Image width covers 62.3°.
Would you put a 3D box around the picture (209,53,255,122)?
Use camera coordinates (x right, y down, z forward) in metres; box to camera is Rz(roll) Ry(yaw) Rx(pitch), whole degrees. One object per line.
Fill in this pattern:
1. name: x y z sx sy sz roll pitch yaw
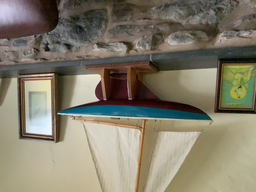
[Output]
1. picture: 0.410 -0.030 0.760 0.170 0.200 0.060 19 -178 23

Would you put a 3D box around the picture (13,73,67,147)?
1. picture: -0.500 0.070 1.200 0.280 0.380 0.050 6 177 23
